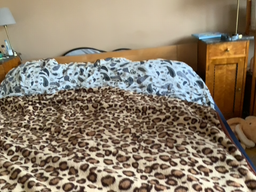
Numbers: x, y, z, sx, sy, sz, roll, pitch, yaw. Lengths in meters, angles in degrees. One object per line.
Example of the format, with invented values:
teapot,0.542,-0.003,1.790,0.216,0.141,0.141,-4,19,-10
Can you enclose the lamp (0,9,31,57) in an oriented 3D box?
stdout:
lamp,-1.290,-0.680,2.310,0.260,0.460,0.190,-2,23,11

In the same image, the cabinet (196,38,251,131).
cabinet,0.900,-0.110,2.100,0.360,0.830,0.390,-2,23,11
